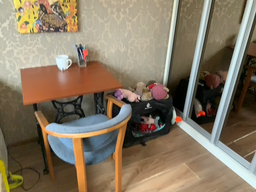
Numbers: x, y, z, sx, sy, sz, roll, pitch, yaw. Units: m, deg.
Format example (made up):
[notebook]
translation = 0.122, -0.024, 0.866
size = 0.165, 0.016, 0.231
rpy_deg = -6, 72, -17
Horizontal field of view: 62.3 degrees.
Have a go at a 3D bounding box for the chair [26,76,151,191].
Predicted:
[chair]
translation = -0.290, 0.350, 1.500
size = 0.590, 0.730, 0.590
rpy_deg = -14, 33, -30
